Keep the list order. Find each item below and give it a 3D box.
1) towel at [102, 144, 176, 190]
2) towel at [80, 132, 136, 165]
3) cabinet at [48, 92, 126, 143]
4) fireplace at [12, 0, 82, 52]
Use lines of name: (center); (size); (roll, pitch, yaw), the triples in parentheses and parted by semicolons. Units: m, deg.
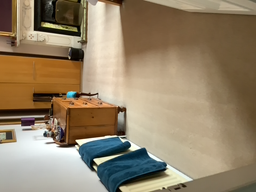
towel: (0.080, 0.520, 1.630); (0.320, 0.460, 0.140); (20, 108, 59)
towel: (-0.200, 0.500, 2.080); (0.330, 0.450, 0.160); (12, 101, 60)
cabinet: (-0.630, 0.240, 3.020); (0.990, 0.790, 0.480); (14, 102, 59)
fireplace: (-1.610, -1.840, 4.260); (0.480, 1.250, 1.730); (9, 98, 60)
